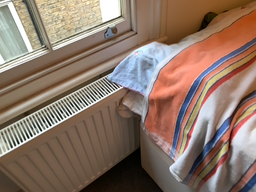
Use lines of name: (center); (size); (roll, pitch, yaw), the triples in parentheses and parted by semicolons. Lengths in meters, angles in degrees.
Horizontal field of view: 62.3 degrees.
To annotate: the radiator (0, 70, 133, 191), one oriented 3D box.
radiator: (-0.210, 0.230, 0.880); (0.480, 0.530, 0.110); (-32, 52, -24)
